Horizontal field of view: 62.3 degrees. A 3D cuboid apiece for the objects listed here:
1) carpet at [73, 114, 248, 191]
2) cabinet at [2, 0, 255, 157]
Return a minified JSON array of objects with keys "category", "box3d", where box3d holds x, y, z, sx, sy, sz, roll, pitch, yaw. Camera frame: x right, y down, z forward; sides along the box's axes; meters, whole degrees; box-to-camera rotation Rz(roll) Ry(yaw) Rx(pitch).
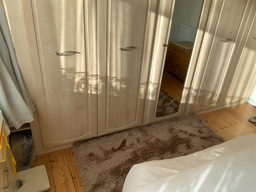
[{"category":"carpet","box3d":[0.320,0.540,2.070,1.530,0.020,0.760,-10,34,-23]},{"category":"cabinet","box3d":[0.420,-0.870,2.050,2.840,2.470,0.530,-10,34,-24]}]
